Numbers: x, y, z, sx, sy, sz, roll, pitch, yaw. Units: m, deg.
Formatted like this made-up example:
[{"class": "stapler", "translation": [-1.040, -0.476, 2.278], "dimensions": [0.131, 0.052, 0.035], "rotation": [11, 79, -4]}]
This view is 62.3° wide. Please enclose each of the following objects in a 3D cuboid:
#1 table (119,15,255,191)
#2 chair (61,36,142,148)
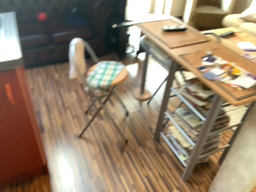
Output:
[{"class": "table", "translation": [0.370, -0.030, 1.680], "dimensions": [0.390, 0.800, 1.180], "rotation": [-14, 42, -23]}, {"class": "chair", "translation": [-0.180, -0.020, 1.660], "dimensions": [0.460, 0.730, 0.390], "rotation": [9, 38, 4]}]
